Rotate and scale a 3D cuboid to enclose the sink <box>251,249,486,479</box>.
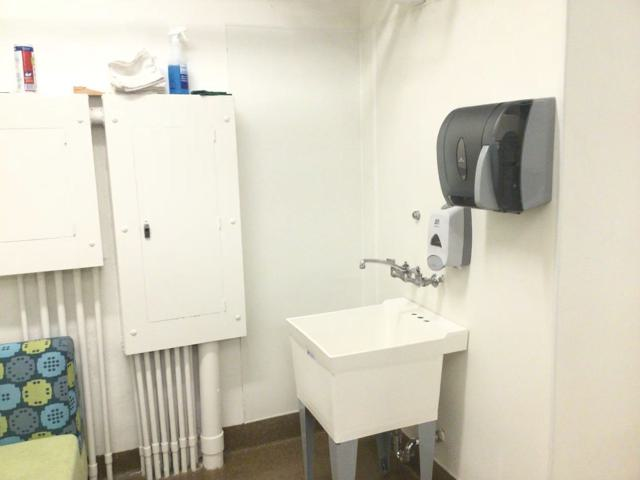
[{"bbox_3d":[0.170,0.640,2.400,0.700,1.070,0.670,-4,9,-25],"label":"sink"}]

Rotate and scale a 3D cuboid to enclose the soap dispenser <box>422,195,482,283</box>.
[{"bbox_3d":[0.500,-0.010,2.210,0.130,0.310,0.180,-5,9,-30],"label":"soap dispenser"}]
